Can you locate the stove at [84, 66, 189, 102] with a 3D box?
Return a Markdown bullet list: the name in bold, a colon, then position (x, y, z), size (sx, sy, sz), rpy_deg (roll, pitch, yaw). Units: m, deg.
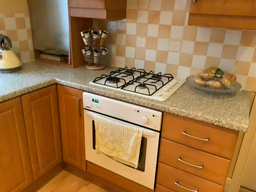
- **stove**: position (0.090, -0.120, 1.570), size (0.580, 0.010, 0.570), rpy_deg (14, 25, 25)
